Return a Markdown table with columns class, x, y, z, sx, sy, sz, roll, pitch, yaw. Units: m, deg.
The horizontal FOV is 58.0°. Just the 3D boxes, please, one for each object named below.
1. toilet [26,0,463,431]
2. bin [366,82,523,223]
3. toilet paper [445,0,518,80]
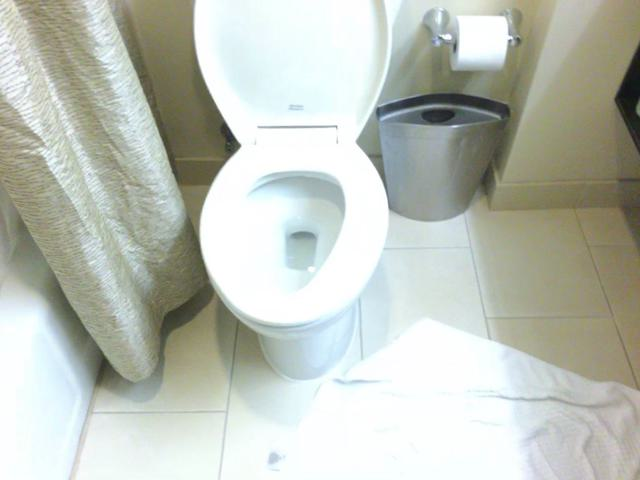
| class | x | y | z | sx | sy | sz | roll | pitch | yaw |
| --- | --- | --- | --- | --- | --- | --- | --- | --- | --- |
| toilet | -0.050 | -0.160 | 1.150 | 0.440 | 0.860 | 0.760 | -1 | 50 | 3 |
| bin | 0.300 | -0.220 | 1.510 | 0.350 | 0.320 | 0.170 | -1 | 50 | 3 |
| toilet paper | 0.350 | -0.440 | 1.270 | 0.120 | 0.110 | 0.130 | -1 | 50 | 3 |
